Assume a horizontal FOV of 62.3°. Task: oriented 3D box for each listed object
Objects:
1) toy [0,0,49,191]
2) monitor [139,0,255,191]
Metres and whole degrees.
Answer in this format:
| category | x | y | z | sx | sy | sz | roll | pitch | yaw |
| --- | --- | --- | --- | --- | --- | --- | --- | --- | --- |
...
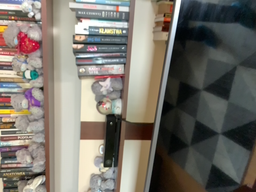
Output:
| category | x | y | z | sx | sy | sz | roll | pitch | yaw |
| --- | --- | --- | --- | --- | --- | --- | --- | --- | --- |
| toy | -0.510 | 0.210 | 0.990 | 0.250 | 0.210 | 1.400 | -124 | 37 | -75 |
| monitor | 0.430 | 0.180 | 0.880 | 0.030 | 0.700 | 1.230 | -117 | 21 | -71 |
